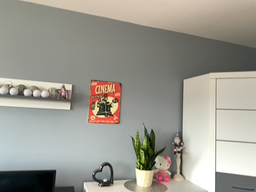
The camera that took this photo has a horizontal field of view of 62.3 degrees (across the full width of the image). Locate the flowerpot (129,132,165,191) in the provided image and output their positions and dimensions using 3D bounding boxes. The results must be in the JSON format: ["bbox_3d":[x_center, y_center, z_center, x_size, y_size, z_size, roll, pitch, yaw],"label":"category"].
[{"bbox_3d":[0.170,0.590,1.960,0.240,0.480,0.240,5,-6,-19],"label":"flowerpot"}]
